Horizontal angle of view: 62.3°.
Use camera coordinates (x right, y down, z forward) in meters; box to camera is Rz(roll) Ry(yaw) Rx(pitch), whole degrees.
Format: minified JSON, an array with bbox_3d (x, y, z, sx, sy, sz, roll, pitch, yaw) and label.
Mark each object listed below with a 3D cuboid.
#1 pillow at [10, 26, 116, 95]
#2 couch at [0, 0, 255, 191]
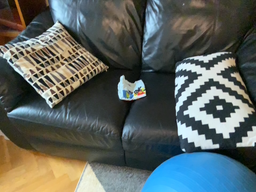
[{"bbox_3d":[-0.390,-0.220,1.330,0.450,0.180,0.440,-2,37,34],"label":"pillow"},{"bbox_3d":[0.090,-0.150,1.340,1.610,0.870,0.970,7,40,10],"label":"couch"}]
